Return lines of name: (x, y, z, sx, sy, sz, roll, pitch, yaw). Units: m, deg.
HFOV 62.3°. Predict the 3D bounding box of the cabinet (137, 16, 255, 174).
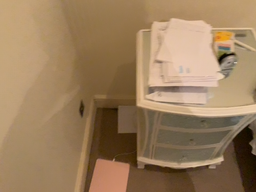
cabinet: (0.290, 0.070, 1.130, 0.470, 0.800, 0.470, 1, 57, 3)
